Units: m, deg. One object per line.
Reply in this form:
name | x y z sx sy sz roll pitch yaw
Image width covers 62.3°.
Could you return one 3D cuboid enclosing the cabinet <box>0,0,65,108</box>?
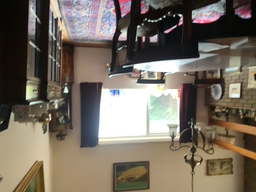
cabinet | -1.060 -0.520 2.530 0.370 1.160 2.230 0 -179 -11
